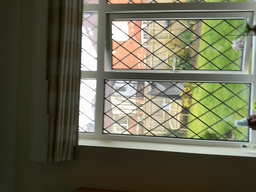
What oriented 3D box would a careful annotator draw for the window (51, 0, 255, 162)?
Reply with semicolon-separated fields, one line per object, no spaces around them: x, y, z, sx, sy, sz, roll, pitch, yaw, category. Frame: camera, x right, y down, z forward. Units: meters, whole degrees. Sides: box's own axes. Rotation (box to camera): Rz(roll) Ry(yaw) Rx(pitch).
0.330;-0.420;1.680;0.520;1.620;1.660;25;-113;-83;window
